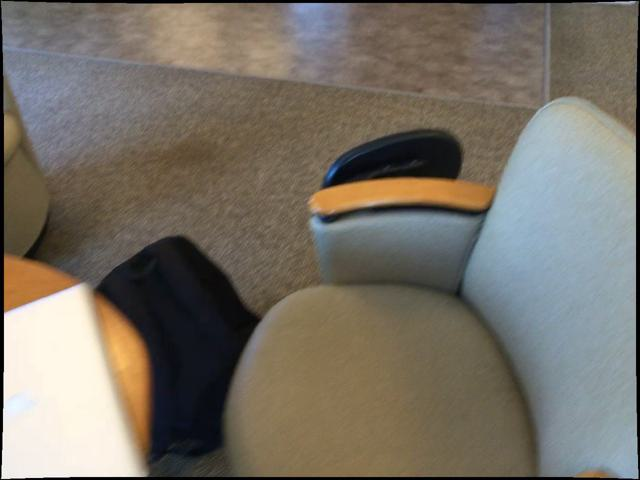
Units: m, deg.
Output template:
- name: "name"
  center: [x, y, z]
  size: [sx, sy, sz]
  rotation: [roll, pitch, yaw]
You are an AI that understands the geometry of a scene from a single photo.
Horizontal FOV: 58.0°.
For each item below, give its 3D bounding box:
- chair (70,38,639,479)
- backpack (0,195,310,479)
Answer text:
- name: "chair"
  center: [0.209, 0.301, 0.990]
  size: [0.818, 0.851, 0.961]
  rotation: [0, 48, 3]
- name: "backpack"
  center: [-0.389, 0.261, 1.450]
  size: [0.490, 0.350, 0.520]
  rotation: [32, 57, 27]
